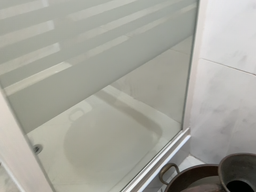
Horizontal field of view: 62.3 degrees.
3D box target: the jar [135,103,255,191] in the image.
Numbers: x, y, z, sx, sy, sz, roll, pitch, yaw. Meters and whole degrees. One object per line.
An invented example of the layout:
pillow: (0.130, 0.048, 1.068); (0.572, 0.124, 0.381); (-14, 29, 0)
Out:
jar: (0.370, 0.390, 0.770); (0.500, 0.390, 0.450); (29, 48, 35)
